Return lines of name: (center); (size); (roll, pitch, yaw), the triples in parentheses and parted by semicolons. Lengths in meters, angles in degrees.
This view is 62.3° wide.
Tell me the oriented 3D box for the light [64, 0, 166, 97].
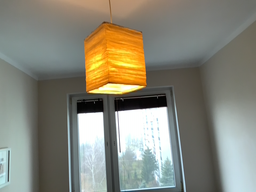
light: (-0.080, -0.360, 1.110); (0.270, 0.330, 0.640); (-28, -102, 8)
